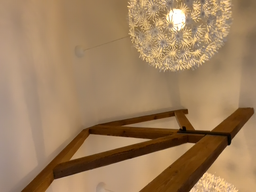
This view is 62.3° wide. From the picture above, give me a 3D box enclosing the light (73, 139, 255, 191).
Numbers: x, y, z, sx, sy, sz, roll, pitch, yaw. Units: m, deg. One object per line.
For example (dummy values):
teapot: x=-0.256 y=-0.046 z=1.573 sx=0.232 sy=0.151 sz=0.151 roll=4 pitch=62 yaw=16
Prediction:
light: x=0.350 y=1.260 z=2.490 sx=1.000 sy=1.000 sz=1.860 roll=-15 pitch=-172 yaw=-42
